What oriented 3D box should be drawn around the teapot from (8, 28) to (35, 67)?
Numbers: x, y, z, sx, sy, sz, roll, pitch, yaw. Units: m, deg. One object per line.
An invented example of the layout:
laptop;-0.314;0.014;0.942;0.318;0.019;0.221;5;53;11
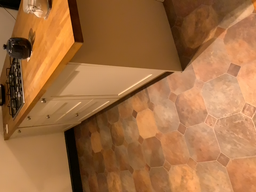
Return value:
teapot;-0.700;-0.310;1.390;0.210;0.110;0.160;-29;69;49
